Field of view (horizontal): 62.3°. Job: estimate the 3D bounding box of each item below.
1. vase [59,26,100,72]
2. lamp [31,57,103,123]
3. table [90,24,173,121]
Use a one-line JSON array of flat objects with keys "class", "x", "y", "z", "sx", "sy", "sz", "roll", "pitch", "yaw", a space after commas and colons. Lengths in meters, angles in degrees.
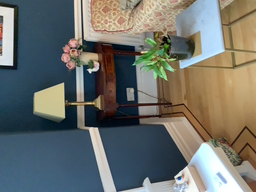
[{"class": "vase", "x": -0.470, "y": -0.440, "z": 2.040, "sx": 0.200, "sy": 0.340, "sz": 0.360, "roll": 162, "pitch": 106, "yaw": -64}, {"class": "lamp", "x": -0.590, "y": -0.030, "z": 1.980, "sx": 0.420, "sy": 0.580, "sz": 0.490, "roll": 150, "pitch": 117, "yaw": -62}, {"class": "table", "x": 0.030, "y": -0.220, "z": 2.200, "sx": 0.310, "sy": 0.720, "sz": 0.890, "roll": 162, "pitch": 104, "yaw": -63}]
